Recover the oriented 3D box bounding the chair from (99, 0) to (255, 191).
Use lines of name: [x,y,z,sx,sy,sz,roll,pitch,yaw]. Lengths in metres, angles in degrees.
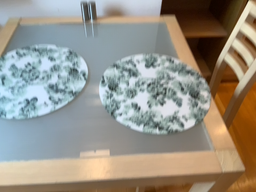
chair: [0.190,0.060,1.010,0.550,0.930,0.440,-7,48,-10]
